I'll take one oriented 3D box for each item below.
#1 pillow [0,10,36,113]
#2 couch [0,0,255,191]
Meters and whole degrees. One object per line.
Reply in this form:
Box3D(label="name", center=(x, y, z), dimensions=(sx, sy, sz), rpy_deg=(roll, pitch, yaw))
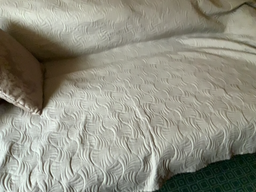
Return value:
Box3D(label="pillow", center=(-0.510, -0.160, 0.950), dimensions=(0.150, 0.300, 0.350), rpy_deg=(-5, 46, -20))
Box3D(label="couch", center=(-0.190, -0.100, 1.160), dimensions=(2.140, 0.700, 1.220), rpy_deg=(-13, 49, -13))
